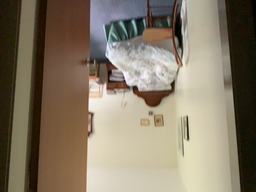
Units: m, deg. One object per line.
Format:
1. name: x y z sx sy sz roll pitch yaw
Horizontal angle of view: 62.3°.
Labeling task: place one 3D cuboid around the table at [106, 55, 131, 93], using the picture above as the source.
1. table: -0.200 -0.460 4.590 0.480 0.710 0.380 -2 171 9

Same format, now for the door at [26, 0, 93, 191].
1. door: -0.340 -0.240 1.270 0.070 2.020 0.700 -2 171 6

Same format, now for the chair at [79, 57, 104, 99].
1. chair: -0.790 -0.380 4.670 0.420 0.820 0.400 -2 171 9
